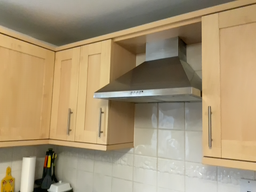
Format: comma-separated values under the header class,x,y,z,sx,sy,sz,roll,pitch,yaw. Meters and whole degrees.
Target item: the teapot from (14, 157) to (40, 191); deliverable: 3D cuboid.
class,x,y,z,sx,sy,sz,roll,pitch,yaw
teapot,-0.850,0.670,1.790,0.110,0.270,0.140,-2,-8,31
